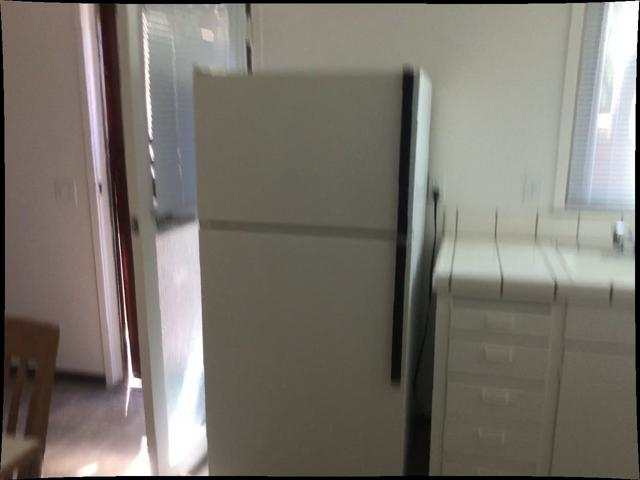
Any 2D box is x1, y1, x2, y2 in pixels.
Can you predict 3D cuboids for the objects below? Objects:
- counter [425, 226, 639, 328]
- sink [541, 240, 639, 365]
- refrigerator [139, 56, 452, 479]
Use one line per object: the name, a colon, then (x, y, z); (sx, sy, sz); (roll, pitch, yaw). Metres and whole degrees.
counter: (1.448, 0.130, 1.880); (2.137, 0.140, 0.670); (2, 14, 13)
sink: (1.128, 0.200, 1.980); (0.609, 0.250, 0.570); (2, 14, 13)
refrigerator: (-0.010, 0.170, 2.210); (0.939, 1.592, 0.740); (2, 14, 13)
